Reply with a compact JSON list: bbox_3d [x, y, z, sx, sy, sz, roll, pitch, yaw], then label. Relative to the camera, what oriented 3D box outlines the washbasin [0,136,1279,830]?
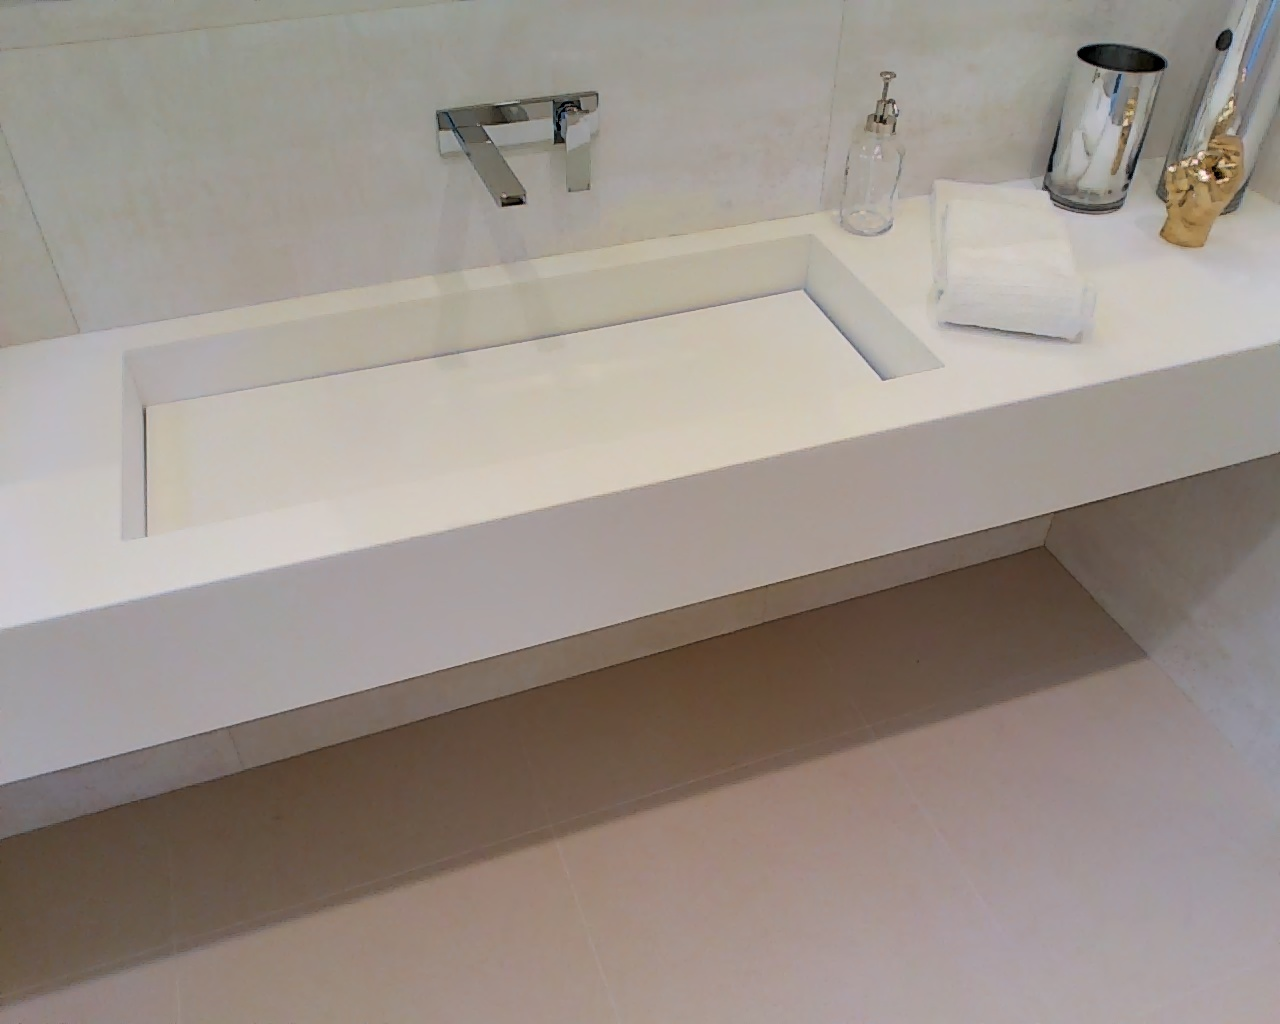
[{"bbox_3d":[-0.130,-0.080,1.340,2.330,0.270,0.510,-13,44,-14],"label":"washbasin"}]

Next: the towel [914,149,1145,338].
[{"bbox_3d":[0.490,-0.360,1.400,0.230,0.070,0.350,5,42,6],"label":"towel"}]
